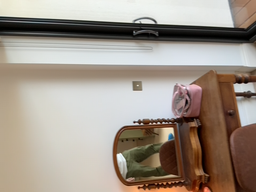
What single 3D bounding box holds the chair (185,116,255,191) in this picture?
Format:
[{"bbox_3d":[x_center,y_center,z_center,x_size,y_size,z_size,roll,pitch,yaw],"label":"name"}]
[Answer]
[{"bbox_3d":[0.910,0.400,1.410,0.490,0.830,0.420,115,151,-66],"label":"chair"}]
